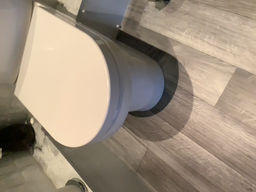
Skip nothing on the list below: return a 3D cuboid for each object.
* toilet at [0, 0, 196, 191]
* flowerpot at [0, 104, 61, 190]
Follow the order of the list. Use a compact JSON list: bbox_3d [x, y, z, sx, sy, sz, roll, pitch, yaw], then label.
[{"bbox_3d":[-0.260,-0.110,0.780,0.650,0.810,0.370,34,111,31],"label":"toilet"},{"bbox_3d":[-0.620,0.230,0.930,0.260,0.510,0.270,35,112,31],"label":"flowerpot"}]
